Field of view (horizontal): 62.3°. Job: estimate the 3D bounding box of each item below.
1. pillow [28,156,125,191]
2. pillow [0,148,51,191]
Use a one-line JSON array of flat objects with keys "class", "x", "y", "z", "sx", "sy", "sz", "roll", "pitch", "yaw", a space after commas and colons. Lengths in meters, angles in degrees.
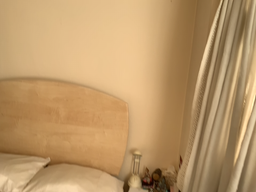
[{"class": "pillow", "x": -0.350, "y": 0.610, "z": 1.560, "sx": 0.600, "sy": 0.110, "sz": 0.360, "roll": 6, "pitch": 9, "yaw": 8}, {"class": "pillow", "x": -1.000, "y": 0.540, "z": 1.590, "sx": 0.720, "sy": 0.150, "sz": 0.330, "roll": 6, "pitch": 9, "yaw": 8}]
